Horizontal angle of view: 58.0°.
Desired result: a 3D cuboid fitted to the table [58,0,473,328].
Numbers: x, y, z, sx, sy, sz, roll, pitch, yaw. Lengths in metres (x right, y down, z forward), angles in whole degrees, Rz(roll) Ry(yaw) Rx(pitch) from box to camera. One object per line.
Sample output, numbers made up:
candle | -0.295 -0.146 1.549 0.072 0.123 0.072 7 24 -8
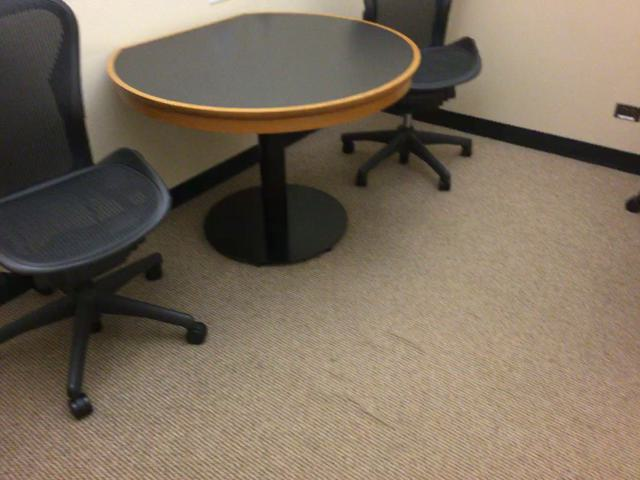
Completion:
table | -0.140 -0.410 2.180 0.960 0.660 1.070 22 43 31
